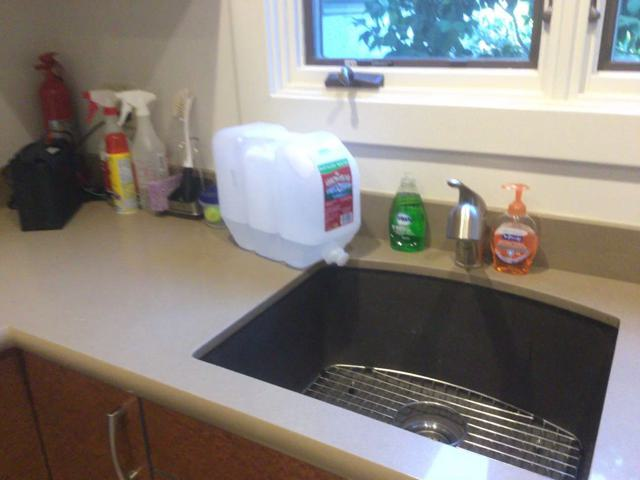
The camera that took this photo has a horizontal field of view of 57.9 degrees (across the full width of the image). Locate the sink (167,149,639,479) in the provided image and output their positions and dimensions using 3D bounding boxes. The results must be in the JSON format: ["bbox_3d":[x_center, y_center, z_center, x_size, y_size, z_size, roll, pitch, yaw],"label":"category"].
[{"bbox_3d":[0.170,0.170,0.960,0.560,0.490,0.540,11,24,26],"label":"sink"}]
